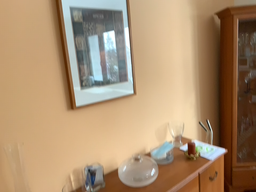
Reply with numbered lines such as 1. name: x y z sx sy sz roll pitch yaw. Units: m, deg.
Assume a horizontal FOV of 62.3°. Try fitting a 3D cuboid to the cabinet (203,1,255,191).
1. cabinet: 1.320 0.080 2.320 0.670 1.970 0.650 -14 14 -38
